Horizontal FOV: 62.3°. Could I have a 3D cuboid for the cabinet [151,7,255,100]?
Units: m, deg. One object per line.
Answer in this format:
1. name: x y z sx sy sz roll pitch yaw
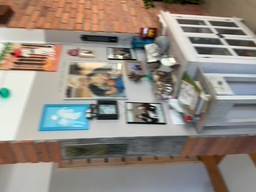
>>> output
1. cabinet: 0.780 -0.430 2.060 0.420 0.880 0.900 101 166 -44
